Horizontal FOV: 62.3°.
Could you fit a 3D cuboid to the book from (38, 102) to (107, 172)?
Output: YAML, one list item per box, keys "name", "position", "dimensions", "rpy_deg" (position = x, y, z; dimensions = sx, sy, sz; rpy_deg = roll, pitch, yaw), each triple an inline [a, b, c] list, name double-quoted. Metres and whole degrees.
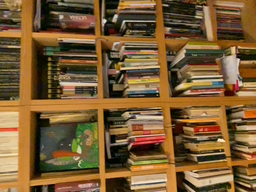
- name: "book"
  position: [-0.330, 0.240, 1.290]
  dimensions: [0.240, 0.360, 0.360]
  rpy_deg: [138, 130, -73]

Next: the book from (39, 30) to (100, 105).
- name: "book"
  position: [-0.370, -0.170, 1.370]
  dimensions: [0.190, 0.350, 0.430]
  rpy_deg: [150, 119, -75]

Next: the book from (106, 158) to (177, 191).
- name: "book"
  position: [0.070, 0.590, 1.340]
  dimensions: [0.300, 0.370, 0.320]
  rpy_deg: [150, 119, -75]

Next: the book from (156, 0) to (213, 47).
- name: "book"
  position: [0.400, -0.530, 1.540]
  dimensions: [0.170, 0.340, 0.290]
  rpy_deg: [146, 123, -74]
